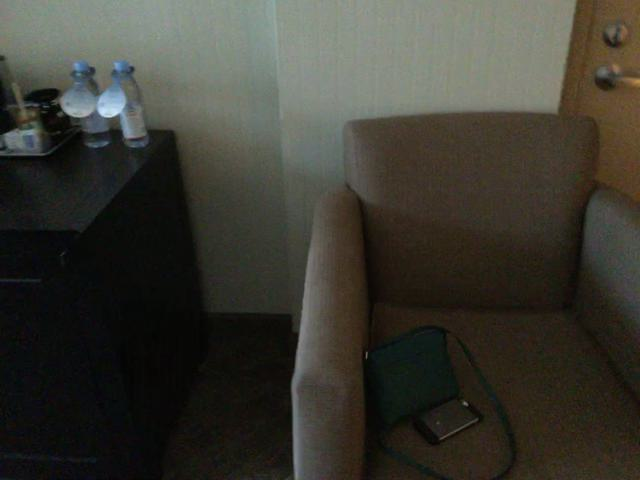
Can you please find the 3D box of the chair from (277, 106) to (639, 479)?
[{"bbox_3d":[0.370,0.230,1.300,0.820,0.820,0.880,0,29,1],"label":"chair"}]

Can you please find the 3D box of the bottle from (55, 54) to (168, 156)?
[{"bbox_3d":[-0.520,-0.350,1.480,0.180,0.200,0.220,0,29,1],"label":"bottle"}]
